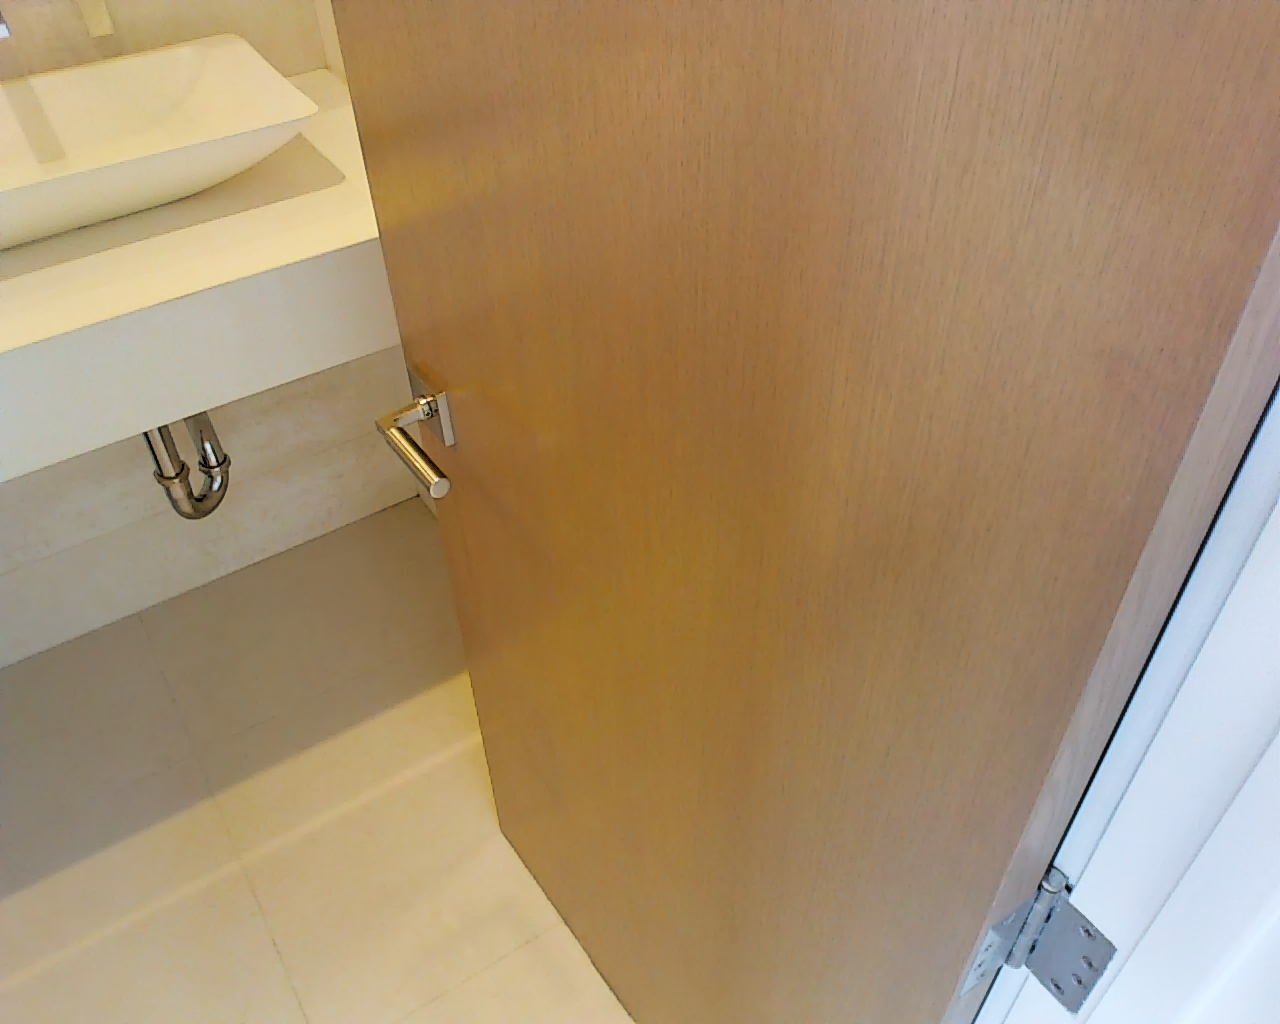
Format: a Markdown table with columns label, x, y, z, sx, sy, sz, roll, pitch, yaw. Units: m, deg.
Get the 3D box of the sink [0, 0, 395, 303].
| label | x | y | z | sx | sy | sz | roll | pitch | yaw |
| --- | --- | --- | --- | --- | --- | --- | --- | --- | --- |
| sink | -0.720 | -0.450 | 1.350 | 0.690 | 0.130 | 0.410 | -24 | 47 | -22 |
